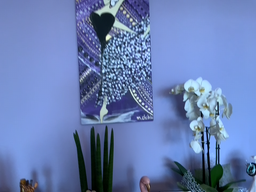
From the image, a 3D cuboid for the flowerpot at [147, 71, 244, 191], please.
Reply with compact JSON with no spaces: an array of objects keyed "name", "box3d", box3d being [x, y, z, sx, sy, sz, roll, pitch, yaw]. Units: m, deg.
[{"name":"flowerpot","box3d":[0.310,0.300,1.070,0.340,0.810,0.340,-2,1,-7]}]
